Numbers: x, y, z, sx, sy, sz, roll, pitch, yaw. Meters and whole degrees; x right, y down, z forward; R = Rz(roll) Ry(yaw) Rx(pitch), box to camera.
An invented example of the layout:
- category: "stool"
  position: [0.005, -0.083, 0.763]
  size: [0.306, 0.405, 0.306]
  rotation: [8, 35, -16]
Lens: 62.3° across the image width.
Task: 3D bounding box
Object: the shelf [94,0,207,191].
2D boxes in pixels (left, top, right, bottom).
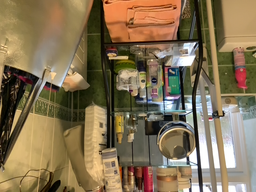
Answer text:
- category: "shelf"
  position: [0.080, -0.250, 1.120]
  size: [0.410, 1.670, 0.460]
  rotation: [-1, 169, 2]

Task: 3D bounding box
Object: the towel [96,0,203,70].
- category: "towel"
  position: [0.080, -0.390, 1.090]
  size: [0.380, 0.320, 0.630]
  rotation: [-1, 169, 1]
